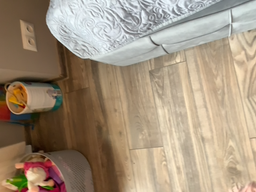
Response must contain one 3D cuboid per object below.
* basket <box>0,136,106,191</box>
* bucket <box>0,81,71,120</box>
[{"bbox_3d":[-0.410,0.550,1.170,0.410,0.400,0.520,-16,84,24],"label":"basket"},{"bbox_3d":[-0.580,0.030,1.320,0.280,0.320,0.190,-7,88,25],"label":"bucket"}]
